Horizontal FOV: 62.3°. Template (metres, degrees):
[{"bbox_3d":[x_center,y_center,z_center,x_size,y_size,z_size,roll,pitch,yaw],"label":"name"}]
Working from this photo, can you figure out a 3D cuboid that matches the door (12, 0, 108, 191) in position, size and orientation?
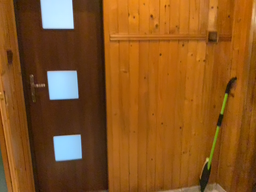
[{"bbox_3d":[-0.550,0.000,1.890,0.700,2.100,0.050,-2,15,-8],"label":"door"}]
